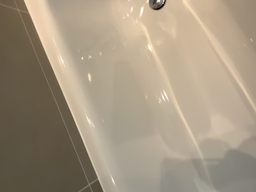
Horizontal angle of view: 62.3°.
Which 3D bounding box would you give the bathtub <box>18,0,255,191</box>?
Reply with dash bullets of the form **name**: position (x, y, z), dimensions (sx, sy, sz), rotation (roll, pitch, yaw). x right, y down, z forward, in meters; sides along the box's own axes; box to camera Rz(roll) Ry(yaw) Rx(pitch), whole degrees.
- **bathtub**: position (0.300, 0.070, 0.720), dimensions (0.690, 0.560, 1.660), rotation (-30, 80, 25)
